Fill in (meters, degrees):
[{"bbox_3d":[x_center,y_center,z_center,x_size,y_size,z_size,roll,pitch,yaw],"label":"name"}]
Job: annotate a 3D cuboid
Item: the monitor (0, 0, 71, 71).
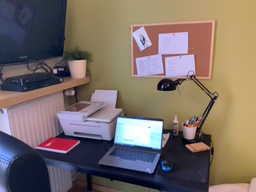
[{"bbox_3d":[-0.640,-0.470,1.340,0.030,0.510,0.800,3,0,22],"label":"monitor"}]
